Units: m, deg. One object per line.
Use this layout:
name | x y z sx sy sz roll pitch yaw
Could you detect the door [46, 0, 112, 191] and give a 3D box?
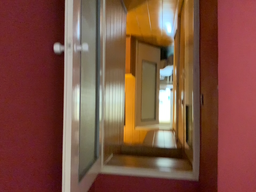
door | -0.280 -0.360 1.530 0.140 1.960 0.900 1 179 6
